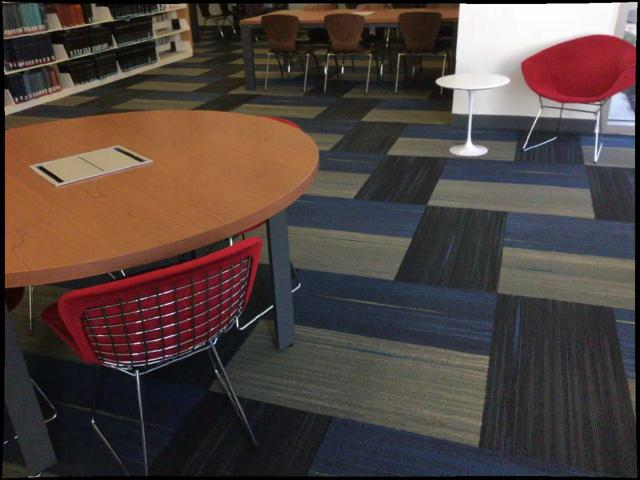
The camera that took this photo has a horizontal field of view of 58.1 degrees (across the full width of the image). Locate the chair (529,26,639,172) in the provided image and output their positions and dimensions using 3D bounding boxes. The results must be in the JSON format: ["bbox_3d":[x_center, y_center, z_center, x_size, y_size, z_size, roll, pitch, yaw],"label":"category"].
[{"bbox_3d":[2.025,-0.993,3.940,0.849,0.752,0.820,15,32,30],"label":"chair"}]

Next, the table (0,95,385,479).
[{"bbox_3d":[-0.698,0.080,2.150,1.487,0.792,1.550,9,29,20],"label":"table"}]
